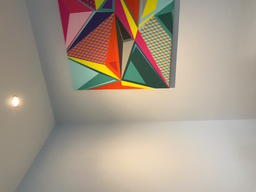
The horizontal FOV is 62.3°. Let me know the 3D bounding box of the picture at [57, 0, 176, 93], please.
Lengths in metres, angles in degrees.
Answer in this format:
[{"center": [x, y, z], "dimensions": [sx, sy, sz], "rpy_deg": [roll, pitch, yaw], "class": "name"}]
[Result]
[{"center": [-0.080, -0.610, 1.530], "dimensions": [0.060, 0.830, 1.240], "rpy_deg": [-85, -8, -63], "class": "picture"}]
